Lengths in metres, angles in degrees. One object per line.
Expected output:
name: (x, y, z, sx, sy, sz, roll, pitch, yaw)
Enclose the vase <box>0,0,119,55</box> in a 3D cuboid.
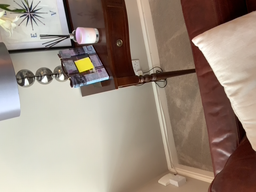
vase: (-0.500, -0.570, 0.990, 0.610, 0.570, 0.600, -8, 94, 56)
